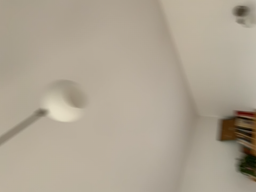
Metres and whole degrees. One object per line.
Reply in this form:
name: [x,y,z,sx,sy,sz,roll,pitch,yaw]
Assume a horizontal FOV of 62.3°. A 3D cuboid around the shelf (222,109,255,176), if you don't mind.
shelf: [1.310,0.490,2.330,0.240,0.380,0.650,59,-133,-39]
